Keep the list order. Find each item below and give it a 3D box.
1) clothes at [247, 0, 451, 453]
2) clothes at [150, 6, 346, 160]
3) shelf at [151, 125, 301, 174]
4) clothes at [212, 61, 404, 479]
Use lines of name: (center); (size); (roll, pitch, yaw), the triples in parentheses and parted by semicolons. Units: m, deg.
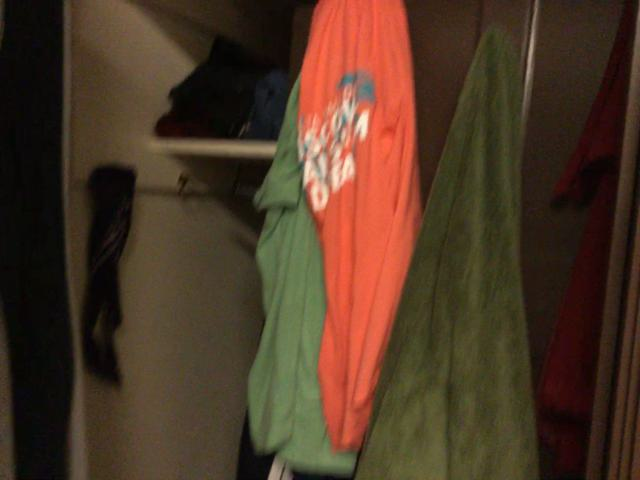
clothes: (0.050, -0.100, 0.860); (0.220, 0.740, 0.180); (5, 5, 20)
clothes: (-0.140, -0.320, 1.270); (0.280, 0.250, 0.360); (5, 5, 20)
shelf: (-0.190, -0.180, 1.150); (0.290, 0.080, 0.080); (5, 5, 20)
clothes: (-0.020, 0.050, 0.880); (0.230, 0.600, 0.120); (5, 5, 20)
